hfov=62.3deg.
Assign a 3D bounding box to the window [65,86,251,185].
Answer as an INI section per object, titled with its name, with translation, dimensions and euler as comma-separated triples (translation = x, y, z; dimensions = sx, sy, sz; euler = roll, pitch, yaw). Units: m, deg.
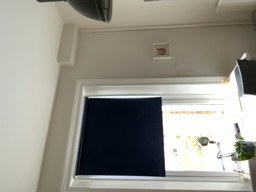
[window]
translation = 0.320, 0.450, 2.700
dimensions = 0.120, 2.080, 1.220
euler = 80, -169, -65
